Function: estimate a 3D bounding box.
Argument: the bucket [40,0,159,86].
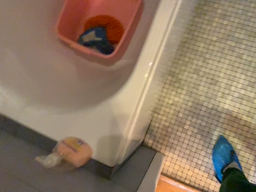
[{"bbox_3d":[-0.130,-0.340,1.050,0.400,0.190,0.440,25,93,13],"label":"bucket"}]
